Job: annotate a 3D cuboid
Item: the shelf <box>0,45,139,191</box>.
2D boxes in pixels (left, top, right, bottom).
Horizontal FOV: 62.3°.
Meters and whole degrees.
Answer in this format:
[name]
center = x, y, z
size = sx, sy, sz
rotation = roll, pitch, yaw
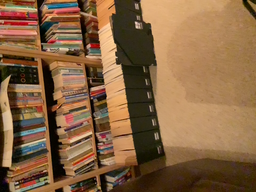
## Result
[shelf]
center = -0.450, 0.150, 1.520
size = 0.340, 1.020, 0.810
rotation = -17, 79, 43
